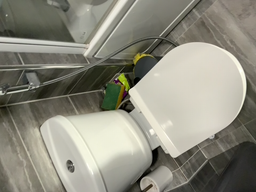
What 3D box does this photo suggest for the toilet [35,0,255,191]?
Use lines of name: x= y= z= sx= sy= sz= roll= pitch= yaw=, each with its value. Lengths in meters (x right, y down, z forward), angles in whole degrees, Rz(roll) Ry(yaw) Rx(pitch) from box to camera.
toilet: x=0.170 y=0.060 z=0.930 sx=0.670 sy=0.780 sz=0.440 roll=-44 pitch=72 yaw=33
